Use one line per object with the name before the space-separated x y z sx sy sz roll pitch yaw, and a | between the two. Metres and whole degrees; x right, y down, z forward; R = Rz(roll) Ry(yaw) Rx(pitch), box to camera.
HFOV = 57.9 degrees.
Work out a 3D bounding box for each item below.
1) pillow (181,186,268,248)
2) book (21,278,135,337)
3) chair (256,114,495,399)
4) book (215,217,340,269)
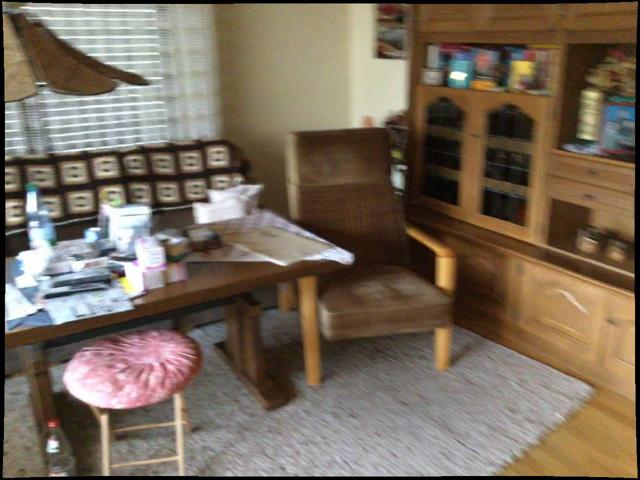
pillow | -0.529 -0.140 3.320 0.440 0.230 0.410 -1 20 -3
book | -0.779 0.210 1.860 0.300 0.040 0.210 -13 24 -31
chair | 0.180 -0.010 2.780 0.799 1.021 0.980 -5 21 -13
book | -0.190 0.000 2.430 0.340 0.020 0.470 -13 24 -31
